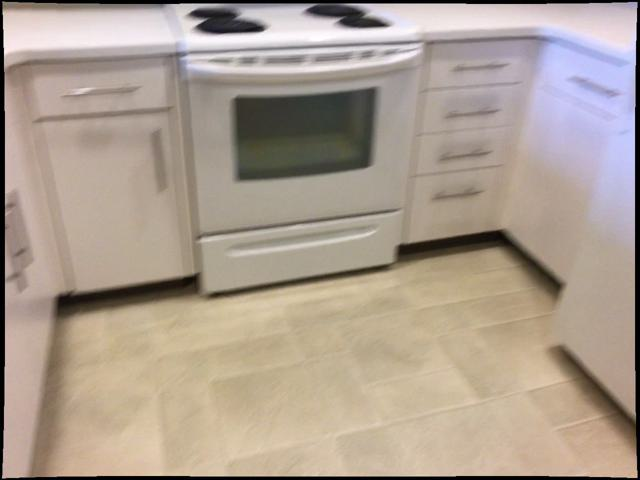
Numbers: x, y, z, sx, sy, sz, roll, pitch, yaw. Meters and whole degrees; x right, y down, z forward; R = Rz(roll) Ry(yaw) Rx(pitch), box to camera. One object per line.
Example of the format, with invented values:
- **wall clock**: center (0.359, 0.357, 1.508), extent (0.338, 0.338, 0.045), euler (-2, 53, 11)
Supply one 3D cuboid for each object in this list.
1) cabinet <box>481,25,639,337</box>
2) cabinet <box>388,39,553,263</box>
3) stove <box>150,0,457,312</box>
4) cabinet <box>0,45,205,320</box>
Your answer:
- **cabinet**: center (0.868, -0.221, 2.040), extent (0.120, 0.902, 0.650), euler (-8, 33, -15)
- **cabinet**: center (0.559, -0.321, 2.240), extent (0.519, 0.852, 0.080), euler (-8, 33, -15)
- **stove**: center (-0.120, -0.501, 2.180), extent (0.898, 1.222, 0.720), euler (-8, 33, -15)
- **cabinet**: center (-0.678, -0.160, 1.900), extent (0.509, 0.892, 0.110), euler (-8, 33, -15)
